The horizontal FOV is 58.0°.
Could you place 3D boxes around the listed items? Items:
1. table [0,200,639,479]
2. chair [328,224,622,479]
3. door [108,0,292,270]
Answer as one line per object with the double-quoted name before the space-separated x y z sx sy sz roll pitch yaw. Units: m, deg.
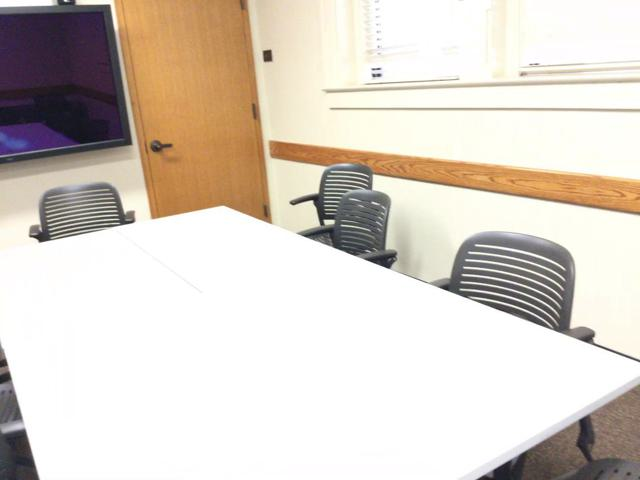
"table" -0.390 0.520 2.040 1.410 0.780 2.430 -15 18 -29
"chair" 0.450 0.450 1.750 0.540 0.820 0.600 -15 18 -29
"door" -0.820 -0.910 4.220 1.090 2.070 0.130 -15 18 -29
